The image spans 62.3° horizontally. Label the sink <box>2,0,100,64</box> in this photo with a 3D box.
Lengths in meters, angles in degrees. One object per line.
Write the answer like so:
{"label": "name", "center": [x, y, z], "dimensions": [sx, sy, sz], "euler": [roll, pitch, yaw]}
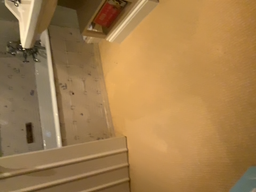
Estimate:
{"label": "sink", "center": [-0.500, -0.560, 1.220], "dimensions": [0.710, 0.350, 0.470], "euler": [-27, 68, 53]}

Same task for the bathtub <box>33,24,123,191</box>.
{"label": "bathtub", "center": [-0.560, 0.260, 2.120], "dimensions": [0.710, 0.520, 1.680], "euler": [-30, 65, 52]}
